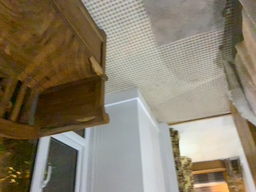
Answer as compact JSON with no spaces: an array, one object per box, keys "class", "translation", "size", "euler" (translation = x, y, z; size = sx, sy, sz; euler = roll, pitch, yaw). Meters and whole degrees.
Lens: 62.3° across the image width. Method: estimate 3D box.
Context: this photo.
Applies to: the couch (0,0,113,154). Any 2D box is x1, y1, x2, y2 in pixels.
[{"class":"couch","translation":[-0.590,-0.280,1.090],"size":[0.640,0.790,1.070],"euler":[-13,147,15]}]
